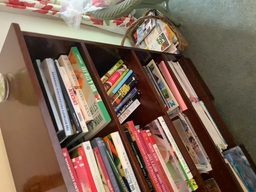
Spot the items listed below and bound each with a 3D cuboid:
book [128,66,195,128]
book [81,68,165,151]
[{"bbox_3d":[0.170,0.000,1.100,0.180,0.180,0.250,-41,67,39],"label":"book"},{"bbox_3d":[-0.030,0.050,0.920,0.210,0.190,0.270,-41,68,40],"label":"book"}]
